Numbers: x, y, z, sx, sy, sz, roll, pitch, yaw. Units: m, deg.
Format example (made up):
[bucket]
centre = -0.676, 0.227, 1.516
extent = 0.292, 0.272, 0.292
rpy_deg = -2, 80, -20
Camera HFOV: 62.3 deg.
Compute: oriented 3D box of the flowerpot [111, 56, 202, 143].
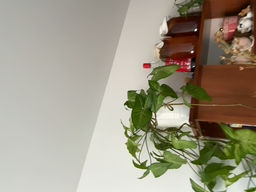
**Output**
[flowerpot]
centre = 0.190, 0.040, 1.150
extent = 0.450, 0.340, 0.290
rpy_deg = 48, -130, -56
